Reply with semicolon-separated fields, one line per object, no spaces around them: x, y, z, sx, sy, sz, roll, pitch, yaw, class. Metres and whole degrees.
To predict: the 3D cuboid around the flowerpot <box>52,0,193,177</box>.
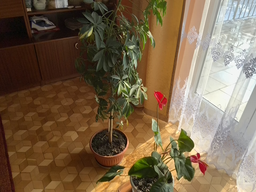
-0.080;-0.090;1.560;0.580;1.020;0.650;-20;42;-29;flowerpot
